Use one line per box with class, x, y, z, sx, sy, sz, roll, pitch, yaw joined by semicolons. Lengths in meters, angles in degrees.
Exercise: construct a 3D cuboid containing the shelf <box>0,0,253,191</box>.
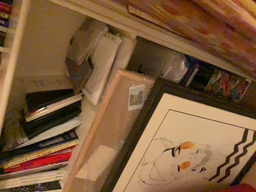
shelf;-0.510;0.010;0.610;0.330;2.420;0.760;41;115;48
